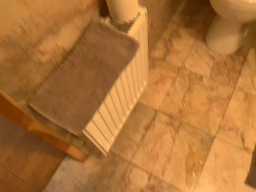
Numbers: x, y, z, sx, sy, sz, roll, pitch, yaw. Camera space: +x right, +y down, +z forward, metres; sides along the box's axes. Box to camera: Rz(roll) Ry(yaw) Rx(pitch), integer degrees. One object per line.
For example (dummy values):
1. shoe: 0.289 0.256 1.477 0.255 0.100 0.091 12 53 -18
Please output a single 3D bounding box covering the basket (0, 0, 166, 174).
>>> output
1. basket: -0.060 -0.020 0.880 0.170 0.750 0.560 26 69 17
